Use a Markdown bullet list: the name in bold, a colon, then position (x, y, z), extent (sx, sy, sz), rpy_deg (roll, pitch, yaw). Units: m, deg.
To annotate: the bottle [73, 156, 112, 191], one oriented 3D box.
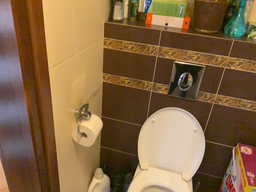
- **bottle**: position (-0.230, 0.640, 1.420), extent (0.140, 0.340, 0.280), rpy_deg (12, 29, 10)
